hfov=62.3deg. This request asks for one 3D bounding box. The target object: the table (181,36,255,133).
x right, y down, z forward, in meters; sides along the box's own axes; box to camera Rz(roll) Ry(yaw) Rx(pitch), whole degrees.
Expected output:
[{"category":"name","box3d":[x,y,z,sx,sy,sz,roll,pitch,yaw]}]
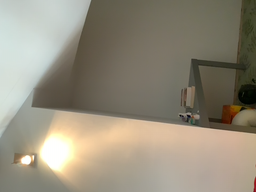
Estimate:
[{"category":"table","box3d":[0.730,-0.060,1.680,0.620,0.440,0.600,39,-123,-85]}]
